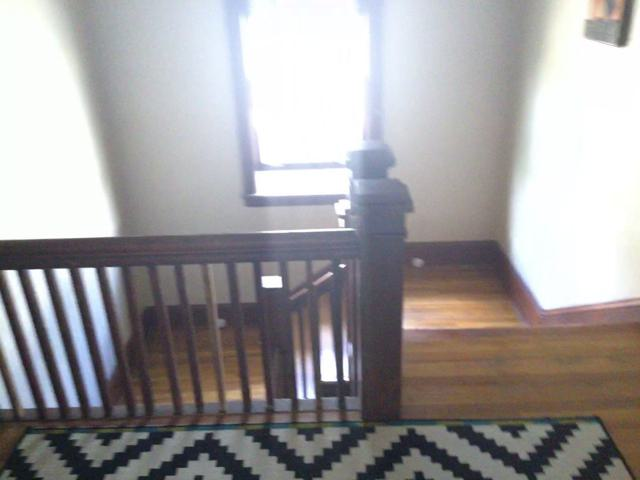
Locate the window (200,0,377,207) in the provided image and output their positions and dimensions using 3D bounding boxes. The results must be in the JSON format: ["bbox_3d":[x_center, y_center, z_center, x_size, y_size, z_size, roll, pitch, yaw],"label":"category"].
[{"bbox_3d":[-0.190,-1.040,4.200,1.070,1.470,0.300,-6,20,1],"label":"window"}]
